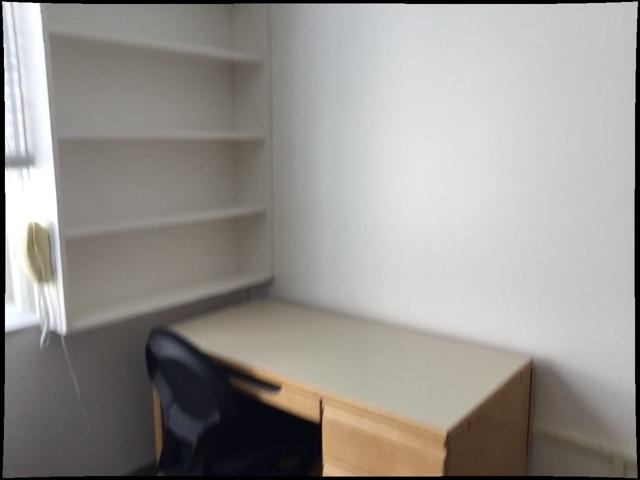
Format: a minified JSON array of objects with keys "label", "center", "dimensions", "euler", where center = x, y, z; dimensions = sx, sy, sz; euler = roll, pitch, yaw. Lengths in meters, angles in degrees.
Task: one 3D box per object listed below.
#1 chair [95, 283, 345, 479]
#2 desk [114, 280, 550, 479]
[{"label":"chair","center":[-0.330,0.671,2.040],"dimensions":[0.620,0.841,0.560],"euler":[8,14,36]},{"label":"desk","center":[-0.010,0.691,2.080],"dimensions":[1.369,0.751,0.690],"euler":[8,14,37]}]
